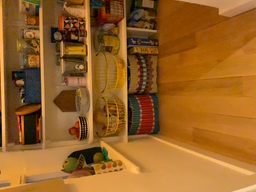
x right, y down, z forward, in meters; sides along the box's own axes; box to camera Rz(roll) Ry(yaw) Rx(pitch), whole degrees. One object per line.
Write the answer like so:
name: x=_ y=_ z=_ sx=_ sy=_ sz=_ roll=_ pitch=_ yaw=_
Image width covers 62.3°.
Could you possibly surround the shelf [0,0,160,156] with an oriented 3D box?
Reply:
shelf: x=-0.610 y=-0.380 z=1.690 sx=0.300 sy=1.810 sz=1.540 roll=-178 pitch=87 yaw=-66
